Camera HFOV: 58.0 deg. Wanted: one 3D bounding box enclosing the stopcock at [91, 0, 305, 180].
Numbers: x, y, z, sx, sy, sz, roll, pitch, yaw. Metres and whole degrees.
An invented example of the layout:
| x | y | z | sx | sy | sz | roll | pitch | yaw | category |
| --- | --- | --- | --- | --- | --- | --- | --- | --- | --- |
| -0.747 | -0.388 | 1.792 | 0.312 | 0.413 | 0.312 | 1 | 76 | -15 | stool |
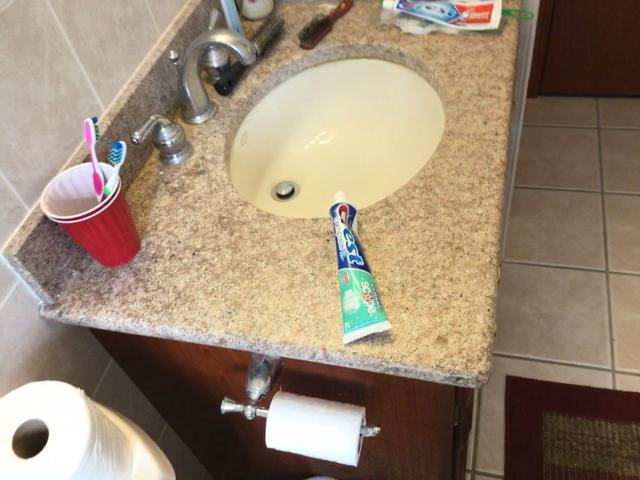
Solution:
| x | y | z | sx | sy | sz | roll | pitch | yaw | category |
| --- | --- | --- | --- | --- | --- | --- | --- | --- | --- |
| -0.170 | -0.270 | 0.920 | 0.190 | 0.160 | 0.320 | 5 | 51 | 16 | stopcock |

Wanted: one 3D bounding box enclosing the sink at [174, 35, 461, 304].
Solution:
| x | y | z | sx | sy | sz | roll | pitch | yaw | category |
| --- | --- | --- | --- | --- | --- | --- | --- | --- | --- |
| 0.030 | -0.140 | 0.970 | 0.360 | 0.190 | 0.420 | 5 | 51 | 16 | sink |

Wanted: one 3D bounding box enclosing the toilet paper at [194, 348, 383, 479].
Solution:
| x | y | z | sx | sy | sz | roll | pitch | yaw | category |
| --- | --- | --- | --- | --- | --- | --- | --- | --- | --- |
| -0.030 | 0.260 | 0.790 | 0.200 | 0.200 | 0.110 | 5 | 51 | 16 | toilet paper |
